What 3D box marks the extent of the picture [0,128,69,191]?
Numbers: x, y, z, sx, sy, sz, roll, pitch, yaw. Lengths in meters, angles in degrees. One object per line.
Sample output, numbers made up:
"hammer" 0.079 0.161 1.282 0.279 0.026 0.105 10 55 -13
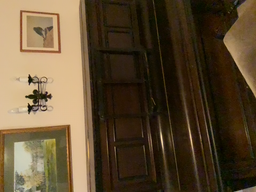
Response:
"picture" -0.600 0.480 1.350 0.050 0.430 0.520 142 125 -68
